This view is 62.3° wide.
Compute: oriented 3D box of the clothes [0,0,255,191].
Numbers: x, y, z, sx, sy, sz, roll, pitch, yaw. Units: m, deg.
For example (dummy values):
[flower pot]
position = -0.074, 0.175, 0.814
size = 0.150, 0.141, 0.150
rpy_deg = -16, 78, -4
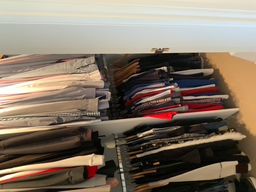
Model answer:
[clothes]
position = -0.190, -0.100, 1.680
size = 0.680, 2.010, 2.320
rpy_deg = 116, 147, -60
